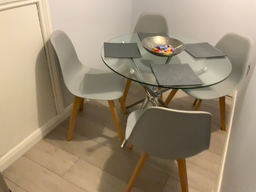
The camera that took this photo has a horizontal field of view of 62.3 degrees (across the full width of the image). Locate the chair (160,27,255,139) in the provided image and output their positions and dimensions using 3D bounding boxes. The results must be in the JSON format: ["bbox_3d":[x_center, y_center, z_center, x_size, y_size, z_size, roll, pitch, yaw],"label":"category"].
[{"bbox_3d":[0.680,-0.120,1.850,0.530,0.780,0.440,-12,38,-22],"label":"chair"}]

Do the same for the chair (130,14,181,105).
[{"bbox_3d":[0.230,-0.370,2.180,0.380,0.770,0.480,3,35,-2],"label":"chair"}]

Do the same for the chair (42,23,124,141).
[{"bbox_3d":[-0.300,-0.100,1.710,0.480,0.800,0.450,4,35,0],"label":"chair"}]

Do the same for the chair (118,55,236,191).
[{"bbox_3d":[0.200,0.240,1.280,0.450,0.780,0.520,5,35,2],"label":"chair"}]
